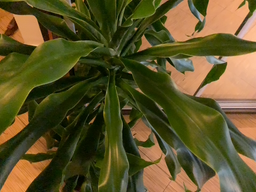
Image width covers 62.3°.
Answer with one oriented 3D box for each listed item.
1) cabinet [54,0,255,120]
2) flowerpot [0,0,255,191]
[{"bbox_3d":[0.530,-0.780,0.660,1.540,2.540,0.660,-1,59,-7],"label":"cabinet"},{"bbox_3d":[0.010,-0.100,0.840,0.890,1.380,1.140,8,59,-2],"label":"flowerpot"}]
